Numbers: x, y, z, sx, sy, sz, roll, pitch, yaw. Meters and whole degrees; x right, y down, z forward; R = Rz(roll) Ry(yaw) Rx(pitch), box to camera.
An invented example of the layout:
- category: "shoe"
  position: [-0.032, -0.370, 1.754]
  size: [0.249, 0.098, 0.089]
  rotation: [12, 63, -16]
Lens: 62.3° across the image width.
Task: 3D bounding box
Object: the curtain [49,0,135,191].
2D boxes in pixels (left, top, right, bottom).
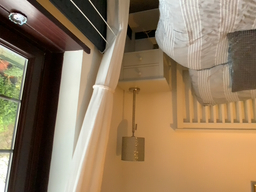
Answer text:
- category: "curtain"
  position: [-0.170, 0.230, 1.270]
  size: [0.220, 2.470, 0.540]
  rotation: [-2, 166, 18]
